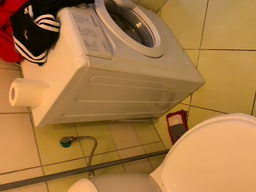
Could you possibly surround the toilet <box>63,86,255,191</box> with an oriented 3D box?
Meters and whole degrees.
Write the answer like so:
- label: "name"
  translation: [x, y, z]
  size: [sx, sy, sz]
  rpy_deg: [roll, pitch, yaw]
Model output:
- label: "toilet"
  translation: [0.280, 0.340, 0.850]
  size: [0.680, 0.750, 0.390]
  rpy_deg: [-43, 60, 35]
